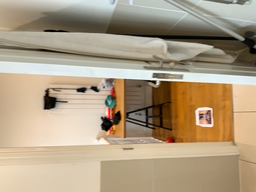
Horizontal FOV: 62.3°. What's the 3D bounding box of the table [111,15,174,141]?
[{"bbox_3d":[0.180,-0.220,3.310,0.820,0.740,1.700,164,107,-74],"label":"table"}]
